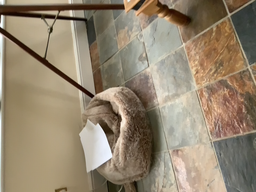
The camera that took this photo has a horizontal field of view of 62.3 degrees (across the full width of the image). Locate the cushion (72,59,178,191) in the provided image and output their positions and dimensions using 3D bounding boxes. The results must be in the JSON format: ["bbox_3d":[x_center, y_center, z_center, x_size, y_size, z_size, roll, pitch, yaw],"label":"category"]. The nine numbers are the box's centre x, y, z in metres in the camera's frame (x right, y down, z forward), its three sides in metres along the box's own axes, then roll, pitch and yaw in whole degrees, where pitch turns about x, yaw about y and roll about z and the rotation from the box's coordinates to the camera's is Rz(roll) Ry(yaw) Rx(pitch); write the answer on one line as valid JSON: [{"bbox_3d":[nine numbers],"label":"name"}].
[{"bbox_3d":[-0.100,0.280,1.640,0.730,0.260,0.830,-32,62,42],"label":"cushion"}]

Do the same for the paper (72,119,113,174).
[{"bbox_3d":[-0.300,0.410,1.710,0.350,0.110,0.350,-32,62,42],"label":"paper"}]
